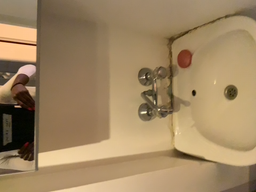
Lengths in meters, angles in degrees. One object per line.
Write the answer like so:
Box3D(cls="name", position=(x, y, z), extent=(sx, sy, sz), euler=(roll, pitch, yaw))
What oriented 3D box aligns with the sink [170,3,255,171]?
Box3D(cls="sink", position=(0.380, -0.020, 0.840), extent=(0.410, 0.170, 0.520), euler=(-5, 84, 57))
